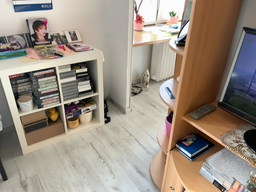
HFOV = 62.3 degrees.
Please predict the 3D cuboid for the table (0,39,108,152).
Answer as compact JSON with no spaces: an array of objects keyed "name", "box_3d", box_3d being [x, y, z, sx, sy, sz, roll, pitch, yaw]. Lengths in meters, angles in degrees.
[{"name":"table","box_3d":[-0.650,-0.050,2.020,0.790,0.770,0.460,-18,36,-31]}]
